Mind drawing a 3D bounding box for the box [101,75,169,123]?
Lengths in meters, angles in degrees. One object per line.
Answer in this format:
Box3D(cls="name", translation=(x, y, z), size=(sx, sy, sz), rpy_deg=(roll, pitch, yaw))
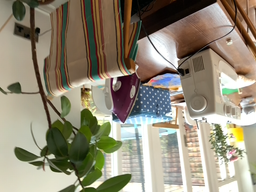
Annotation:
Box3D(cls="box", translation=(0.050, 0.040, 1.340), size=(0.270, 0.200, 0.340), rpy_deg=(-14, 162, 34))
